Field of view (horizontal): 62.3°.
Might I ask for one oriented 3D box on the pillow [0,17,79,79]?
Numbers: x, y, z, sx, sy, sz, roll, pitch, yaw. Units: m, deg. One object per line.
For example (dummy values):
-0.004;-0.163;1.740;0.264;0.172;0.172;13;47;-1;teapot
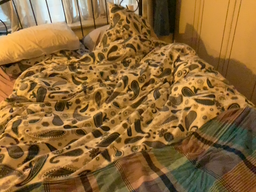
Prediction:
-0.810;-0.430;1.800;0.650;0.280;0.410;-18;37;-18;pillow
